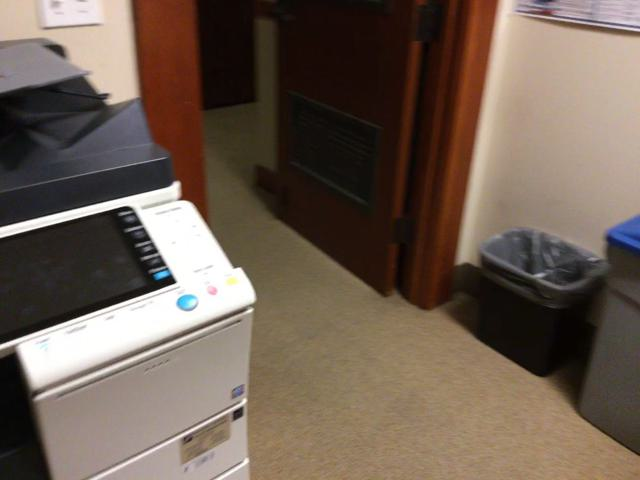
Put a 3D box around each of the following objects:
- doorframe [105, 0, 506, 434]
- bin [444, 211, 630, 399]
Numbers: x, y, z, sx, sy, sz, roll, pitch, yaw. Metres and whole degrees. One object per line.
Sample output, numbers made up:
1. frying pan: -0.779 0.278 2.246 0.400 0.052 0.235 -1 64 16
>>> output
1. doorframe: 0.020 -0.380 1.670 1.100 1.700 0.280 -17 34 -32
2. bin: 0.710 0.200 1.970 0.260 0.410 0.460 -17 34 -32
